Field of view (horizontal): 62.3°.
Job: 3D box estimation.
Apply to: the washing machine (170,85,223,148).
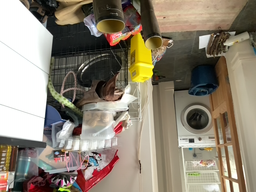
[{"bbox_3d":[1.040,0.360,3.370,0.630,0.870,0.650,-5,164,12],"label":"washing machine"}]
